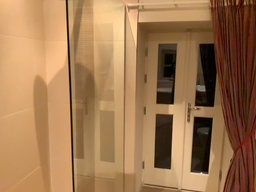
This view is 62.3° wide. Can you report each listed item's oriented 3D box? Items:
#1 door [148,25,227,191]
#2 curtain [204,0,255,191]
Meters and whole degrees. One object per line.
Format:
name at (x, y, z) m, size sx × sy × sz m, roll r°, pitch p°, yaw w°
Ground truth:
door at (0.620, 0.200, 2.390) m, size 0.740 × 1.890 × 0.030 m, roll 3°, pitch 11°, yaw 13°
curtain at (0.890, 0.220, 1.710) m, size 0.410 × 1.970 × 0.170 m, roll 3°, pitch 11°, yaw 13°
